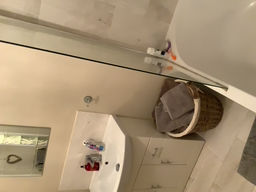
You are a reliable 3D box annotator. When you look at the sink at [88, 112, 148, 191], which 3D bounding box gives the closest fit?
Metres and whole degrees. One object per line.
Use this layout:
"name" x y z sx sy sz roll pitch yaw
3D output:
"sink" -0.130 0.660 1.880 0.500 0.150 0.890 46 123 58
